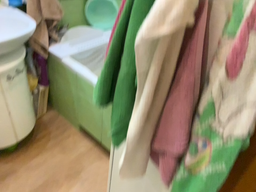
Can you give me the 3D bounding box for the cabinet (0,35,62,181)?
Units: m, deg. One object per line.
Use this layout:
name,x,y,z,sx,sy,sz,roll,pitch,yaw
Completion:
cabinet,-0.740,0.070,1.270,0.390,0.670,0.470,32,43,29
